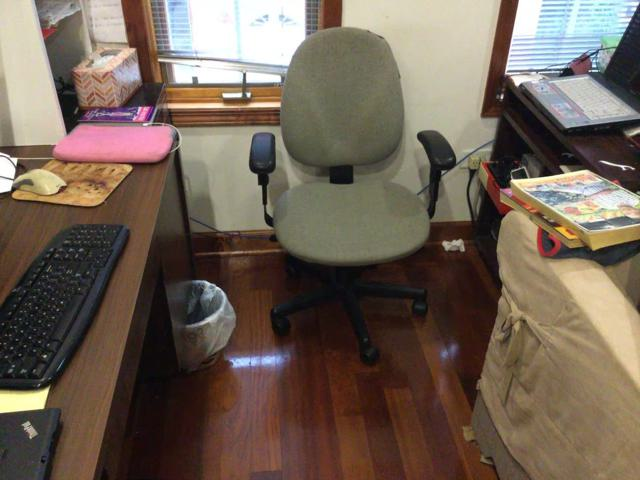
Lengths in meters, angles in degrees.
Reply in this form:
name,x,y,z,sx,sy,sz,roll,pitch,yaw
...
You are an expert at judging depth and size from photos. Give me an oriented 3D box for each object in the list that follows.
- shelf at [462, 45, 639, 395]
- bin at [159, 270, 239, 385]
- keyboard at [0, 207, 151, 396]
name,x,y,z,sx,sy,sz,roll,pitch,yaw
shelf,0.820,-0.100,1.860,0.420,0.790,0.790,-6,34,-4
bin,-0.370,0.270,1.820,0.200,0.210,0.270,-6,34,-4
keyboard,-0.450,0.080,1.020,0.190,0.030,0.470,-3,34,1
